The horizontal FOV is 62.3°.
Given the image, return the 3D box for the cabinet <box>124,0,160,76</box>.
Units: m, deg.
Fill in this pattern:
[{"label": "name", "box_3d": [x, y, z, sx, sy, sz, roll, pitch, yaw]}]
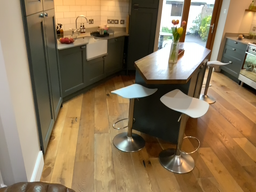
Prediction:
[{"label": "cabinet", "box_3d": [0.280, -1.580, 4.350, 0.580, 2.270, 0.450, 2, 25, -5]}]
